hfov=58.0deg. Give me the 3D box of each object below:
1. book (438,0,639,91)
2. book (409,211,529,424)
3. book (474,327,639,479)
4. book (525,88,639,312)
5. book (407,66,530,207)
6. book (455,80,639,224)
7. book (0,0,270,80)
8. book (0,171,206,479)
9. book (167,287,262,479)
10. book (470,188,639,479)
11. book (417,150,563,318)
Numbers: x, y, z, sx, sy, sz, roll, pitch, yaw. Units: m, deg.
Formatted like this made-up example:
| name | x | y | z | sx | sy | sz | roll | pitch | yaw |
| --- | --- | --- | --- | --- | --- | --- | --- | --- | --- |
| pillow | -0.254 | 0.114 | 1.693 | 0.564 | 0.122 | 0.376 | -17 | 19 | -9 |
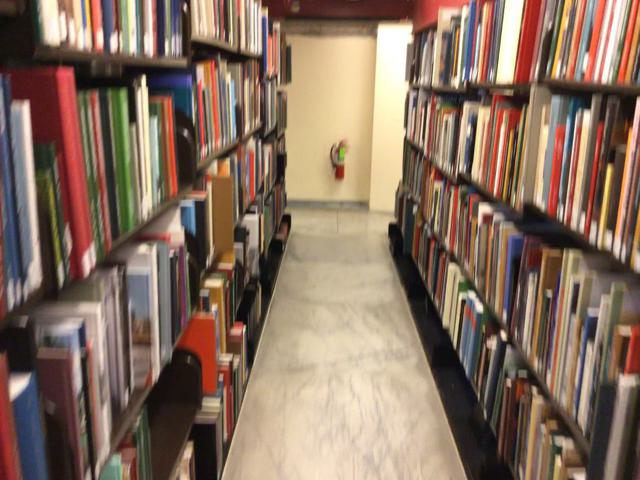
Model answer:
| name | x | y | z | sx | sy | sz | roll | pitch | yaw |
| --- | --- | --- | --- | --- | --- | --- | --- | --- | --- |
| book | 0.730 | -0.730 | 2.050 | 0.300 | 0.380 | 1.650 | -1 | 14 | 1 |
| book | 0.630 | 0.230 | 2.800 | 0.150 | 0.410 | 1.720 | -1 | 14 | 1 |
| book | 0.630 | 0.600 | 1.530 | 0.190 | 0.400 | 0.930 | -1 | 14 | 1 |
| book | 0.700 | -0.110 | 1.180 | 0.250 | 0.390 | 0.850 | -1 | 14 | 1 |
| book | 0.730 | -0.610 | 3.160 | 0.300 | 0.590 | 1.430 | -1 | 14 | 1 |
| book | 0.740 | -0.350 | 2.030 | 0.310 | 0.390 | 0.920 | -1 | 14 | 1 |
| book | -0.410 | -0.700 | 1.460 | 0.230 | 0.500 | 3.500 | -1 | 14 | 1 |
| book | -0.460 | 0.190 | 1.200 | 0.240 | 0.550 | 0.880 | -1 | 14 | 1 |
| book | -0.380 | 0.570 | 2.370 | 0.150 | 0.390 | 1.180 | -1 | 14 | 1 |
| book | 0.760 | 0.230 | 1.410 | 0.410 | 0.480 | 1.460 | -1 | 14 | 1 |
| book | 0.700 | -0.120 | 2.700 | 0.260 | 0.460 | 1.420 | -1 | 14 | 1 |
